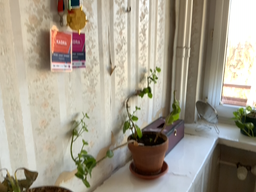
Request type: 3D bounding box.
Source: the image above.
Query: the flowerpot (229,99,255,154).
[{"bbox_3d":[0.730,0.170,1.230,0.220,0.240,0.230,8,16,29],"label":"flowerpot"}]

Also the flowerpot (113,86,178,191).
[{"bbox_3d":[0.080,0.160,0.920,0.190,0.360,0.230,8,16,28],"label":"flowerpot"}]
